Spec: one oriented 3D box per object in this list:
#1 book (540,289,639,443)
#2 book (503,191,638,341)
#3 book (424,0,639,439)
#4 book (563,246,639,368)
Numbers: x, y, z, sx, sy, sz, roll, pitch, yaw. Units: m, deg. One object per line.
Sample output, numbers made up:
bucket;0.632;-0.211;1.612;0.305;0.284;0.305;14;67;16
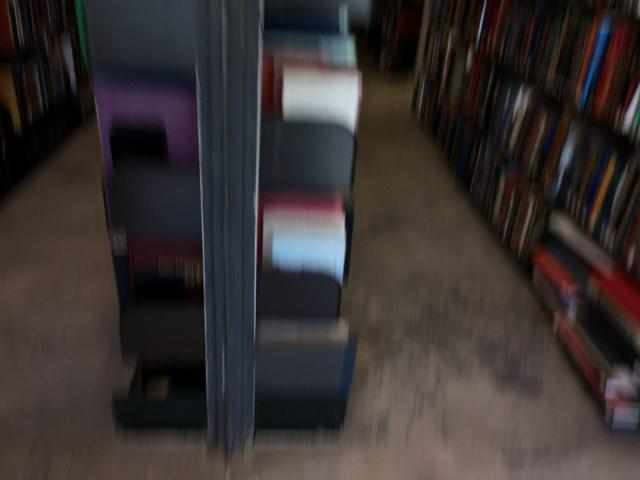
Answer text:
book;1.040;0.380;1.840;0.450;0.170;0.520;2;29;-5
book;0.910;0.080;2.180;0.190;0.330;0.530;2;29;-5
book;1.010;-0.840;2.290;0.360;1.830;2.500;2;29;-5
book;0.960;0.190;1.760;0.230;0.140;0.430;2;29;-5
